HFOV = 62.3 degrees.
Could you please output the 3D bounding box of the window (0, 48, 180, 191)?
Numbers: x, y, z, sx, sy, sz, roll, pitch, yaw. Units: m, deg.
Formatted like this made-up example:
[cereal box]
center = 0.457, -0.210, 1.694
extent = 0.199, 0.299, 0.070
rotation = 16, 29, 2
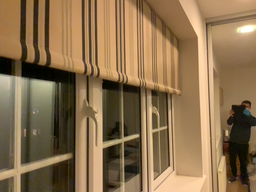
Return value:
[window]
center = -0.030, 0.270, 1.080
extent = 0.170, 0.690, 1.620
rotation = -3, -4, 27
